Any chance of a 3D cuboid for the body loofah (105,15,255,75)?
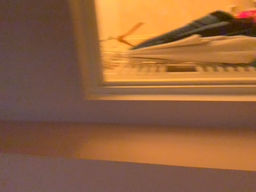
[{"bbox_3d":[0.380,-0.280,1.120,0.370,0.910,0.240,-62,-30,-66],"label":"body loofah"}]
